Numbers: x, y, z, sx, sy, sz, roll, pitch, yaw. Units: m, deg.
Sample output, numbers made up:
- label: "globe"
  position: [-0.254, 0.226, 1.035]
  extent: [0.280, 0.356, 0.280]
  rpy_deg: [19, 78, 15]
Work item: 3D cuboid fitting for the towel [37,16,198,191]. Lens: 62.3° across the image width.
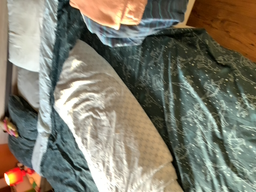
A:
- label: "towel"
  position: [-0.160, 0.200, 1.210]
  extent: [0.630, 0.140, 1.140]
  rpy_deg: [-46, 67, 38]
